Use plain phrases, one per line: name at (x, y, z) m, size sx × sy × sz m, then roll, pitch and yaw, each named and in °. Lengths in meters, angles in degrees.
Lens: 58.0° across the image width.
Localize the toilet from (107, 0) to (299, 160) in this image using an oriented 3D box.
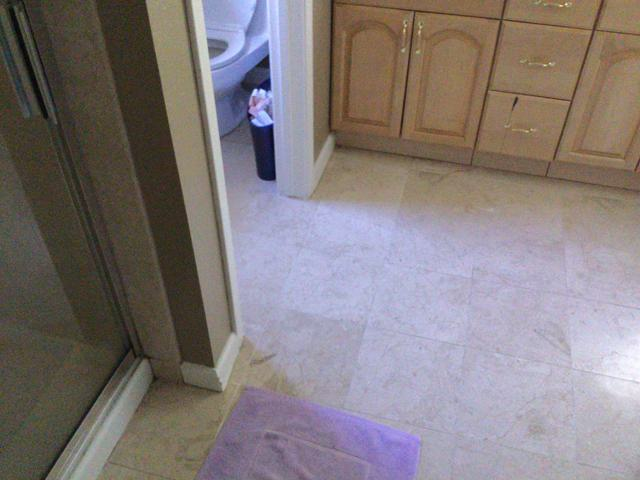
toilet at (-0.460, -0.900, 2.560) m, size 0.500 × 0.760 × 0.710 m, roll 10°, pitch 42°, yaw 14°
